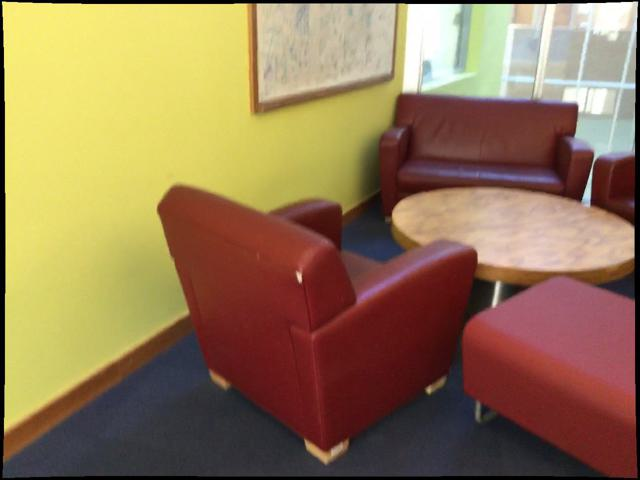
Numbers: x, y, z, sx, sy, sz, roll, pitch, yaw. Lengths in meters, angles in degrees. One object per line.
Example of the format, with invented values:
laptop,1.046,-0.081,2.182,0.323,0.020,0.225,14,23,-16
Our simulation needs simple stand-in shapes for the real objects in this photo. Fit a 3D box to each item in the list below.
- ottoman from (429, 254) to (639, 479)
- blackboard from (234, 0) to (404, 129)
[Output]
ottoman,0.899,0.470,1.970,0.700,0.430,0.710,-18,33,-34
blackboard,0.100,-1.421,3.210,0.110,1.191,1.800,15,30,24
